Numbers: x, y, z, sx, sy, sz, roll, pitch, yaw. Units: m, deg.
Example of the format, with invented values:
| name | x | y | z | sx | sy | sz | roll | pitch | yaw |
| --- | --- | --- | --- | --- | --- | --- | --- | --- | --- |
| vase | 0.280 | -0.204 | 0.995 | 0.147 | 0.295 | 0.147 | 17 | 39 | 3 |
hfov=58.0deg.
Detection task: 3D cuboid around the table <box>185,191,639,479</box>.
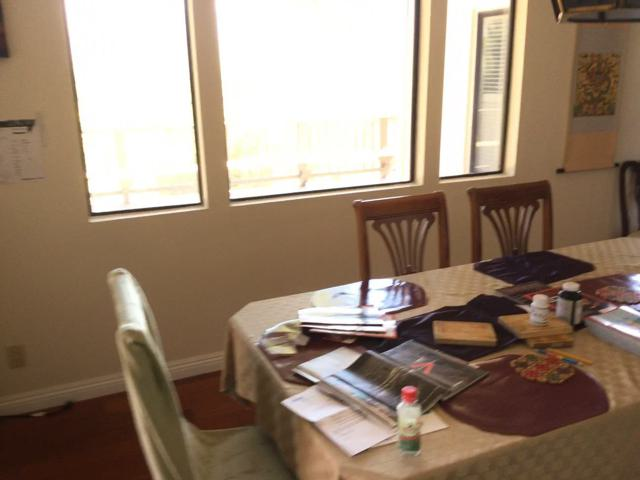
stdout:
| name | x | y | z | sx | sy | sz | roll | pitch | yaw |
| --- | --- | --- | --- | --- | --- | --- | --- | --- | --- |
| table | 0.800 | 0.560 | 2.060 | 2.190 | 0.890 | 1.190 | -13 | 19 | -21 |
